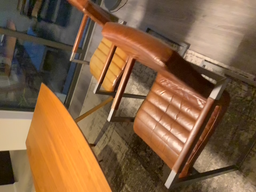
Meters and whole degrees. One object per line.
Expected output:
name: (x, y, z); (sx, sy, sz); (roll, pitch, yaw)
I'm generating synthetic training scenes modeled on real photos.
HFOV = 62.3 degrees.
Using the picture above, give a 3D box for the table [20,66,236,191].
table: (-0.190, 0.580, 1.670); (1.860, 0.760, 0.880); (42, 116, 45)
